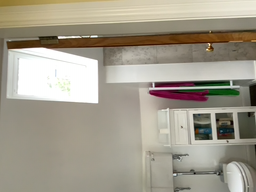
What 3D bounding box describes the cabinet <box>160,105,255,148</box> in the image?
[{"bbox_3d":[1.000,0.380,2.620,0.380,1.160,0.490,73,-163,-80],"label":"cabinet"}]
